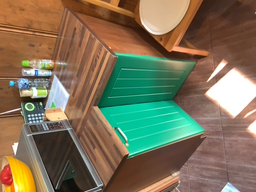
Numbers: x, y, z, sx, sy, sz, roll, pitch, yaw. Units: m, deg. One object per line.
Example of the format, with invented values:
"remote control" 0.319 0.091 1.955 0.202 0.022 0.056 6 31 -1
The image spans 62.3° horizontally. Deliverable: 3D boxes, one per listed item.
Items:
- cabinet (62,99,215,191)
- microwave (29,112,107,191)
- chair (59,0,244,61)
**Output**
"cabinet" 0.100 0.340 1.370 0.310 0.860 0.510 47 125 34
"microwave" -0.340 0.370 1.100 0.400 0.160 0.390 46 124 35
"chair" 0.170 -0.530 1.230 0.480 0.910 0.420 45 123 35
